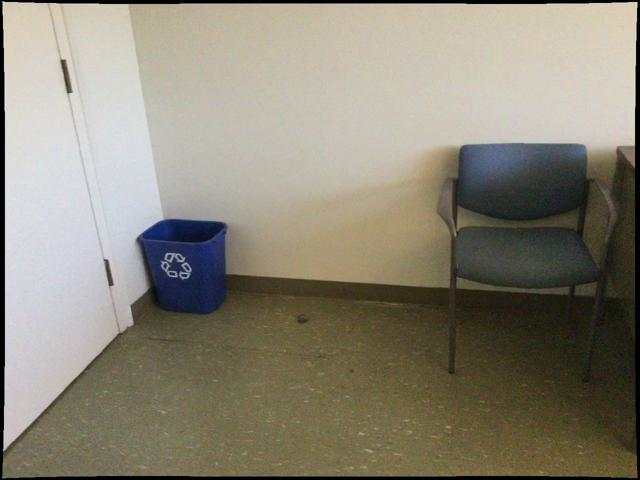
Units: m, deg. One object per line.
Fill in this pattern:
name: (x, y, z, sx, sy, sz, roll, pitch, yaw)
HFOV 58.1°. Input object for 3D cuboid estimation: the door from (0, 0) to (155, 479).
door: (-1.057, -0.241, 1.890, 0.150, 1.864, 1.110, 1, 24, 14)
